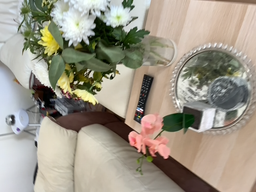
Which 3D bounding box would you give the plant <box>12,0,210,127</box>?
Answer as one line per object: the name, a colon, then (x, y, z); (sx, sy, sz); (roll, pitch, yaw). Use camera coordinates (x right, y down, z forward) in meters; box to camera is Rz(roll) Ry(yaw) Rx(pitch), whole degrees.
plant: (-0.050, -0.160, 0.650); (0.290, 0.470, 0.330); (33, 118, 41)
